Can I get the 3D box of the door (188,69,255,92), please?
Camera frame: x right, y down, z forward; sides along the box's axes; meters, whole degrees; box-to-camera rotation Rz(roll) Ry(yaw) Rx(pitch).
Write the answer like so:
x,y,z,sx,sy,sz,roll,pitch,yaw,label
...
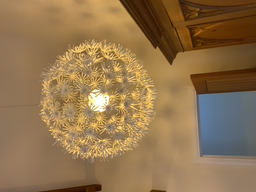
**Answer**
x,y,z,sx,sy,sz,roll,pitch,yaw,label
1.630,-0.180,1.920,0.730,2.020,0.040,21,-113,-67,door
